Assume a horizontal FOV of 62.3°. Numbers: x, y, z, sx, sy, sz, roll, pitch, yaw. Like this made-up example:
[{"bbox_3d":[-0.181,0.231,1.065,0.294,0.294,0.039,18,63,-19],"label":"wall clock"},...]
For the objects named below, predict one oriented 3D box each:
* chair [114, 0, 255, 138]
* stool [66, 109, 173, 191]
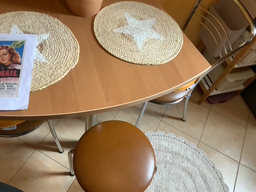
[{"bbox_3d":[0.240,-0.160,1.190,0.440,0.870,0.400,-12,62,-18],"label":"chair"},{"bbox_3d":[-0.080,0.360,1.050,0.350,0.470,0.350,-10,61,-17],"label":"stool"}]
